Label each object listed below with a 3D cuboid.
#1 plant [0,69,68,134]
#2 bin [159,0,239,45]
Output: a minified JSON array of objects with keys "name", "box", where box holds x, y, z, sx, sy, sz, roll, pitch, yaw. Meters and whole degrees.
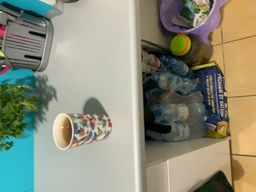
[{"name":"plant","box":[-0.350,0.020,0.690,0.140,0.260,0.180,-3,86,41]},{"name":"bin","box":[0.380,-0.440,1.130,0.320,0.280,0.230,1,89,41]}]
